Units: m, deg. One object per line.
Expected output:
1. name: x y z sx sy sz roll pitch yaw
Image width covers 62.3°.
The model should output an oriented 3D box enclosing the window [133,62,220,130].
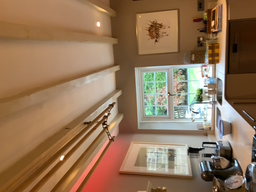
1. window: 0.800 0.010 3.590 0.300 1.320 1.070 -55 -38 -70
